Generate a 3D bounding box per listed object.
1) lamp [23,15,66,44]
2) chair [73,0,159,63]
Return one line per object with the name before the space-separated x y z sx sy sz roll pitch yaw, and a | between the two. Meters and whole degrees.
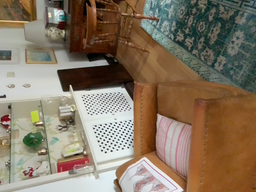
lamp | -1.260 -1.000 3.210 0.260 0.560 0.300 -121 36 -44
chair | -0.190 -0.820 2.480 0.600 0.750 0.630 58 143 44
